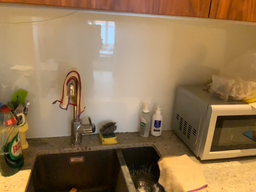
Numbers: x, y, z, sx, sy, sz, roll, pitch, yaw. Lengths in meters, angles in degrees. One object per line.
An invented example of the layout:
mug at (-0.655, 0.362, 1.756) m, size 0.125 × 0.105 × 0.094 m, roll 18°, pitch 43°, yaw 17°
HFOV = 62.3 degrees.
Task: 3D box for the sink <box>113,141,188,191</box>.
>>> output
sink at (0.070, 0.360, 0.860) m, size 0.190 × 0.170 × 0.390 m, roll -1°, pitch 17°, yaw -14°

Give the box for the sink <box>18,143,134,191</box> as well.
sink at (-0.190, 0.390, 0.800) m, size 0.360 × 0.230 × 0.390 m, roll -1°, pitch 17°, yaw -14°

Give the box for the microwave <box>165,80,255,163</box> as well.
microwave at (0.480, 0.090, 1.020) m, size 0.490 × 0.260 × 0.300 m, roll -2°, pitch 18°, yaw -18°
